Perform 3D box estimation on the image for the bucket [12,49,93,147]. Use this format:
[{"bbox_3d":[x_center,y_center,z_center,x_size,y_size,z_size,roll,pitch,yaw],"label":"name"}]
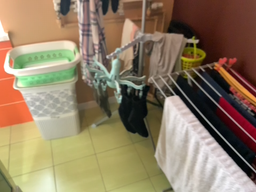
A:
[{"bbox_3d":[-0.580,0.030,1.790,0.470,0.710,0.350,-8,41,-11],"label":"bucket"}]
